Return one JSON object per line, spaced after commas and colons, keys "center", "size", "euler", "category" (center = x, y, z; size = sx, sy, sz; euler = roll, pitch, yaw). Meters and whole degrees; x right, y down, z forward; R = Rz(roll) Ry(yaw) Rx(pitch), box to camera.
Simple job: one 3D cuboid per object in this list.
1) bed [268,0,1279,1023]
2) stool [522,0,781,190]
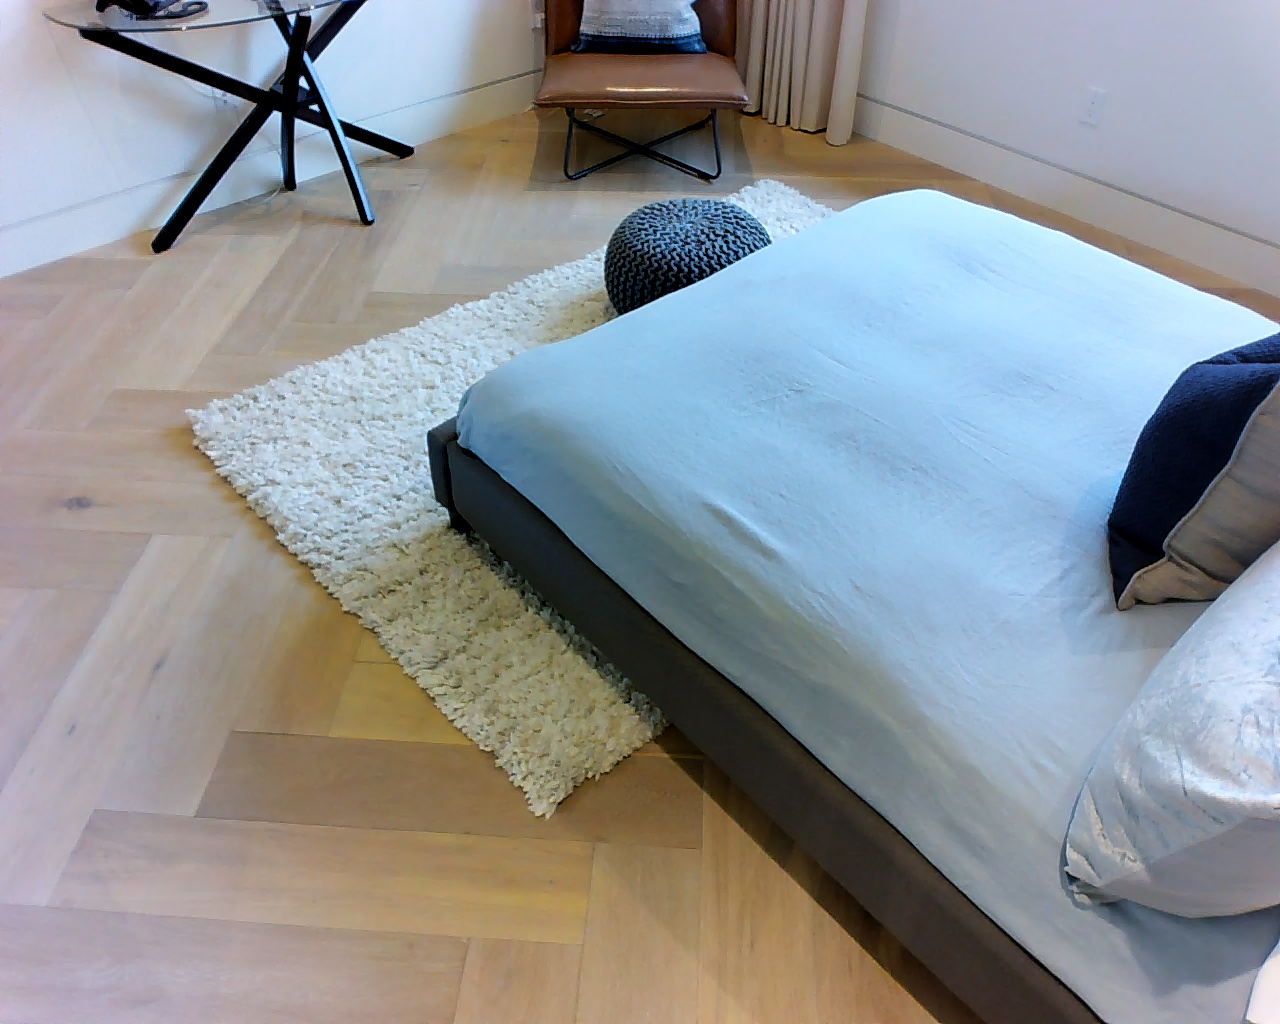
{"center": [0.850, -0.130, 1.910], "size": [1.850, 1.050, 2.320], "euler": [-30, 50, -30], "category": "bed"}
{"center": [0.040, -1.690, 3.870], "size": [0.820, 0.730, 0.820], "euler": [0, 41, 0], "category": "stool"}
